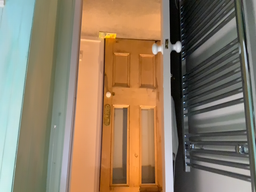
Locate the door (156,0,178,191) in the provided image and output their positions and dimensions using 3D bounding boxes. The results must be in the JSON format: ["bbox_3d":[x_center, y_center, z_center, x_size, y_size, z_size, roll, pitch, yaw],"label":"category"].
[{"bbox_3d":[0.280,-0.120,1.530,0.080,1.780,1.080,-1,168,11],"label":"door"}]
